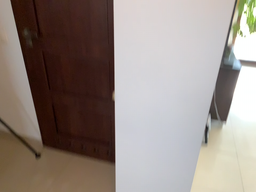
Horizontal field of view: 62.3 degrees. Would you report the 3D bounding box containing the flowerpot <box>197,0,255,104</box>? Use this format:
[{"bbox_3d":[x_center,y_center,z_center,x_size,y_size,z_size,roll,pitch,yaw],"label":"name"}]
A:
[{"bbox_3d":[1.770,-0.870,3.280,0.590,1.640,0.930,-15,33,-28],"label":"flowerpot"}]
